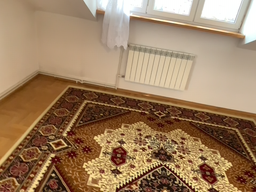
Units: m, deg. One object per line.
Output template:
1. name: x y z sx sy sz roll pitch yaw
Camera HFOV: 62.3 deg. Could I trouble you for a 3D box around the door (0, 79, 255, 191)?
1. door: 0.360 0.930 1.700 2.980 0.090 4.020 11 27 2
